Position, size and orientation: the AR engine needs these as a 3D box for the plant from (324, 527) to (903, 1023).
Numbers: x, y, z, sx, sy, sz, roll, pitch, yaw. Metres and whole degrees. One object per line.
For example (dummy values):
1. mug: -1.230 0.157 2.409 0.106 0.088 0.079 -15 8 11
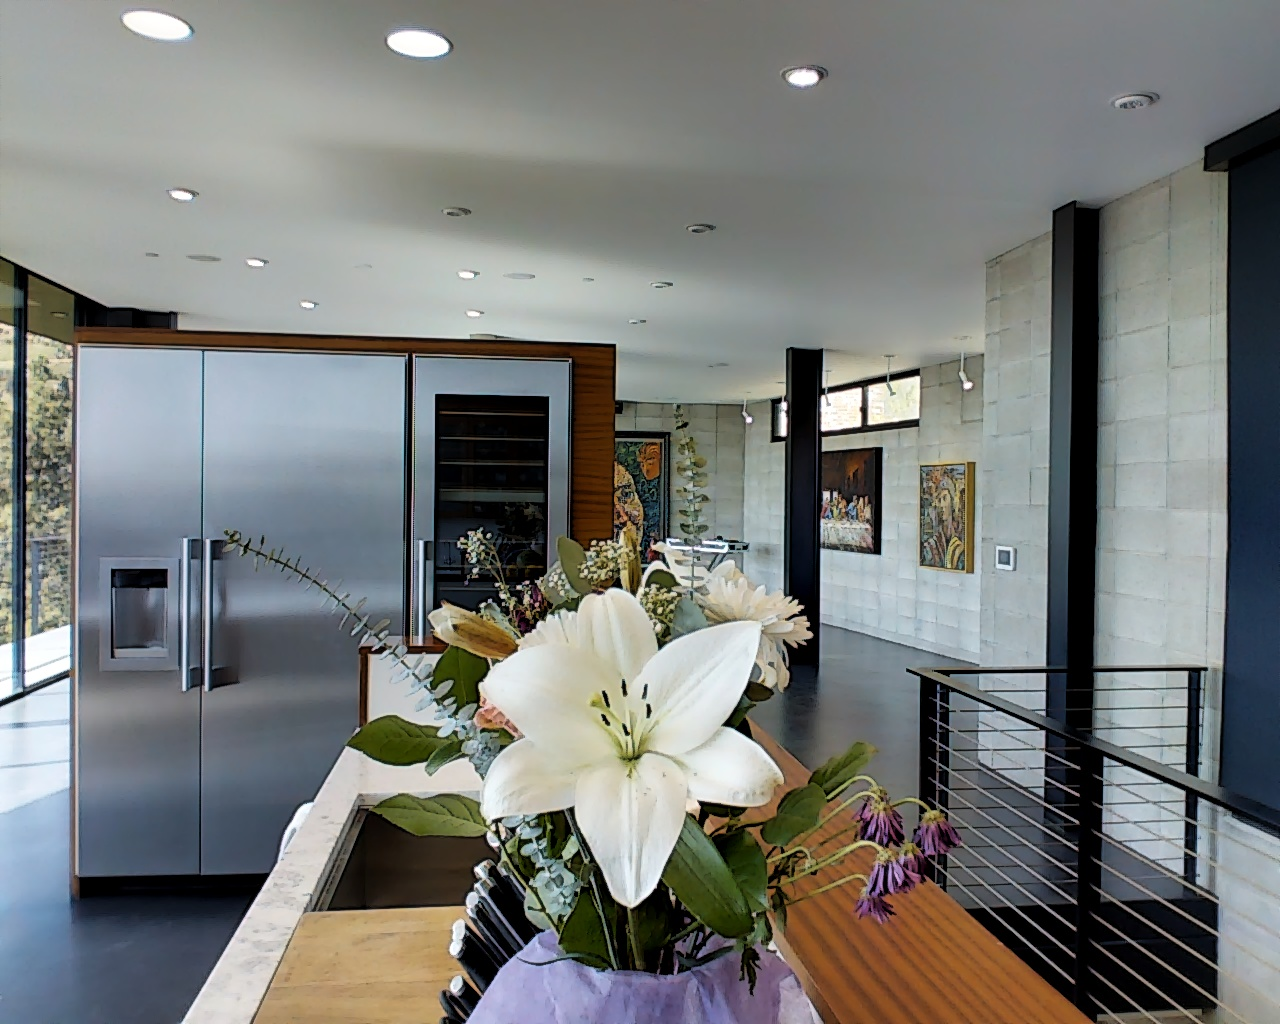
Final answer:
1. plant: -0.040 0.320 0.890 0.380 0.600 0.360 1 1 -9

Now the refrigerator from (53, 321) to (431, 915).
1. refrigerator: -1.490 0.400 4.110 1.320 2.170 0.170 1 1 -9
